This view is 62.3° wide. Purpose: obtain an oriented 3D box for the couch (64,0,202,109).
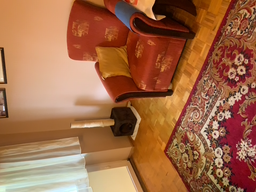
[{"bbox_3d":[-0.070,-0.520,2.270,0.940,1.020,0.900,-121,38,-49],"label":"couch"}]
